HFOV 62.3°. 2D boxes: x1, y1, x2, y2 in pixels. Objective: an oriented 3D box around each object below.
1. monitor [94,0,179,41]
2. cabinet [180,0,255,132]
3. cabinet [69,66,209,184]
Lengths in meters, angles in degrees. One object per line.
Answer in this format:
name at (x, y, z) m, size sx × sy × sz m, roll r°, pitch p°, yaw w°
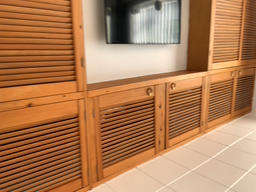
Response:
monitor at (0.120, -0.720, 1.790) m, size 0.890 × 0.490 × 0.090 m, roll -12°, pitch -163°, yaw -39°
cabinet at (1.210, -0.960, 2.550) m, size 1.290 × 2.520 × 0.340 m, roll -11°, pitch -163°, yaw -38°
cabinet at (0.200, 0.140, 1.940) m, size 1.350 × 0.700 × 0.340 m, roll -11°, pitch -163°, yaw -38°
